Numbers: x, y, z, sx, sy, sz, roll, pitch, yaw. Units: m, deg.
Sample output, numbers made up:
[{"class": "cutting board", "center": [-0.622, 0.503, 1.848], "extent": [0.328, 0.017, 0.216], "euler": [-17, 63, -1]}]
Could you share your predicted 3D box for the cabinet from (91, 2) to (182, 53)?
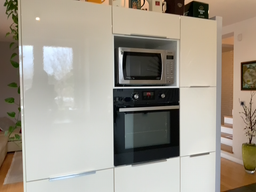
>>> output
[{"class": "cabinet", "center": [0.040, -0.580, 1.950], "extent": [0.600, 0.230, 0.660], "euler": [-2, 3, -23]}]
